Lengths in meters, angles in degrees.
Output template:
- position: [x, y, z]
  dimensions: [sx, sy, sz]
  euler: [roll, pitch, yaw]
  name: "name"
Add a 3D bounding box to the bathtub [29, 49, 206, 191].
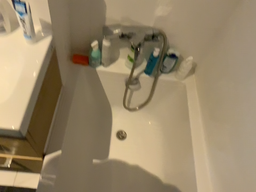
- position: [-0.070, 0.530, 1.070]
  dimensions: [0.680, 0.620, 1.350]
  euler: [9, 58, -6]
  name: "bathtub"
